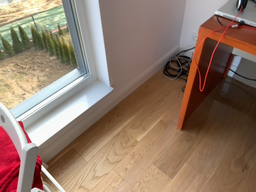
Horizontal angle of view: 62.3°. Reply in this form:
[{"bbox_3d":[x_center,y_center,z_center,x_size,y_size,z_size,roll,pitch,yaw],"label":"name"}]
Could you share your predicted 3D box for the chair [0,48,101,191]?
[{"bbox_3d":[-0.490,0.290,0.850,0.470,0.750,0.480,31,55,27],"label":"chair"}]
